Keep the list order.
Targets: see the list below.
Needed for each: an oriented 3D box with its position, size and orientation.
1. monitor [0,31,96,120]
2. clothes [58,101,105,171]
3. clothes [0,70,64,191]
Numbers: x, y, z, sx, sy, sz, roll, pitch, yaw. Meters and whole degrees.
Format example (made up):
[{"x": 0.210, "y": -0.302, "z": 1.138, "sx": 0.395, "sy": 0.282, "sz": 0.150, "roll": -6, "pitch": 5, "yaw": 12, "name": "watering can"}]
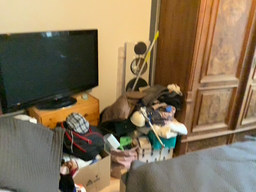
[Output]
[{"x": -0.690, "y": -0.240, "z": 1.970, "sx": 0.070, "sy": 0.660, "sz": 0.950, "roll": 21, "pitch": 28, "yaw": 37, "name": "monitor"}, {"x": -0.440, "y": 0.340, "z": 1.960, "sx": 0.330, "sy": 0.390, "sz": 0.500, "roll": -5, "pitch": 24, "yaw": -20, "name": "clothes"}, {"x": -0.910, "y": 0.310, "z": 1.650, "sx": 0.630, "sy": 0.650, "sz": 1.320, "roll": -7, "pitch": 24, "yaw": -22, "name": "clothes"}]
